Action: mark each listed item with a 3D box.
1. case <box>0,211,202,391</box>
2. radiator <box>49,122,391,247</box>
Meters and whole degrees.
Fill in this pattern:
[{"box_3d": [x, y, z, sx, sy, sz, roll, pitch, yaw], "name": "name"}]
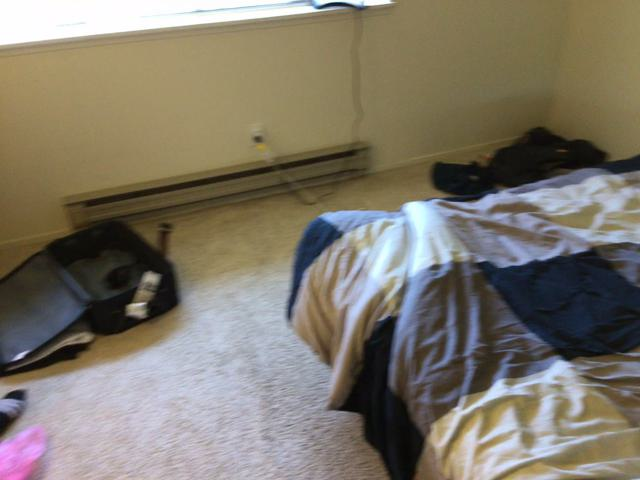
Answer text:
[{"box_3d": [-0.950, 0.190, 2.220, 0.770, 0.170, 0.610, -21, 36, -29], "name": "case"}, {"box_3d": [-0.410, -0.300, 2.840, 1.650, 0.270, 0.120, -14, 33, -19], "name": "radiator"}]
